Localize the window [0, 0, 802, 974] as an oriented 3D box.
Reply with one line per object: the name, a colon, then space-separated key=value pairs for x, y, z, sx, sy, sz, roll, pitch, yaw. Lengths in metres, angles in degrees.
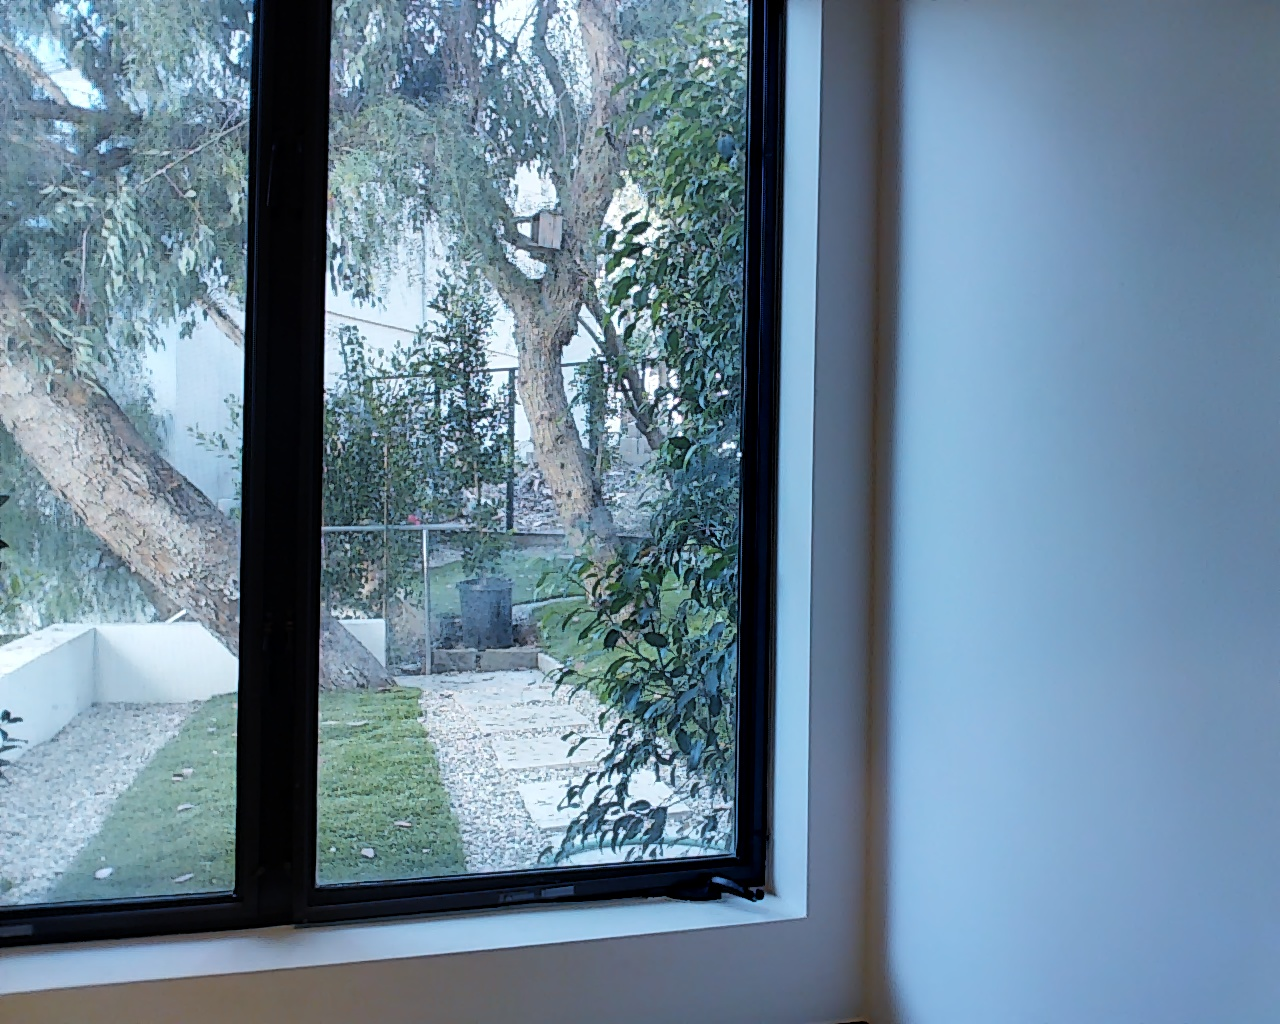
window: x=-0.470 y=-0.150 z=1.510 sx=1.470 sy=1.510 sz=0.040 roll=1 pitch=0 yaw=-16
